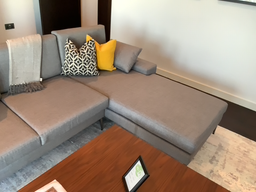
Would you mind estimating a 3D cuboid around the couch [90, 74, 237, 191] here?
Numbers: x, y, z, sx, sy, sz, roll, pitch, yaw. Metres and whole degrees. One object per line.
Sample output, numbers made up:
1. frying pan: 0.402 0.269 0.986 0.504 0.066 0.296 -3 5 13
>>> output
1. couch: 0.350 0.280 2.020 0.900 0.410 1.080 27 37 31
